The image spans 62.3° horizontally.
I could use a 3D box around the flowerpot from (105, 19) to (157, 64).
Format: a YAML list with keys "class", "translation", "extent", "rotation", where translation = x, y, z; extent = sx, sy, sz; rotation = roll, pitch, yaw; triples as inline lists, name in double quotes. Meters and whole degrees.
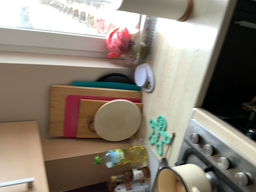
- class: "flowerpot"
  translation: [0.010, -0.280, 1.100]
  extent: [0.130, 0.200, 0.180]
  rotation: [45, 129, 53]

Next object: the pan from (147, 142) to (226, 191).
- class: "pan"
  translation: [0.190, 0.290, 0.740]
  extent: [0.200, 0.140, 0.150]
  rotation: [43, 128, 53]
